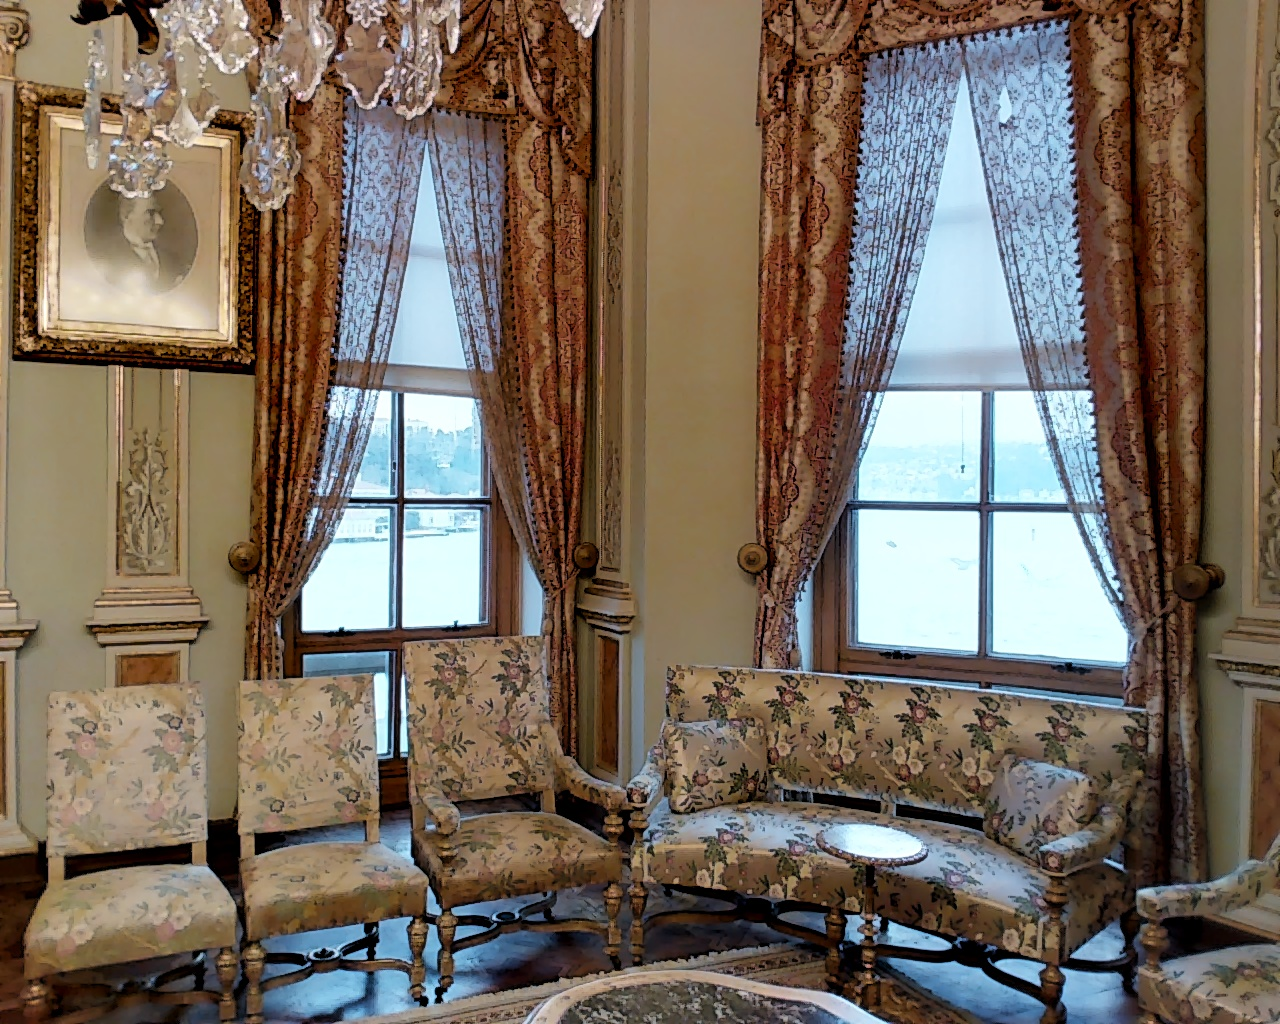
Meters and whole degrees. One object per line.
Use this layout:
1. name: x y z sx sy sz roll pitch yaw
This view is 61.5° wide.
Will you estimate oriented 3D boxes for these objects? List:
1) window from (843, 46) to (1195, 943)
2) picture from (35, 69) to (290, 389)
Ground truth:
1. window: 1.739 -0.080 5.060 1.510 3.782 0.280 0 0 33
2. picture: -2.179 -1.261 4.960 1.040 1.301 0.200 1 0 -25
